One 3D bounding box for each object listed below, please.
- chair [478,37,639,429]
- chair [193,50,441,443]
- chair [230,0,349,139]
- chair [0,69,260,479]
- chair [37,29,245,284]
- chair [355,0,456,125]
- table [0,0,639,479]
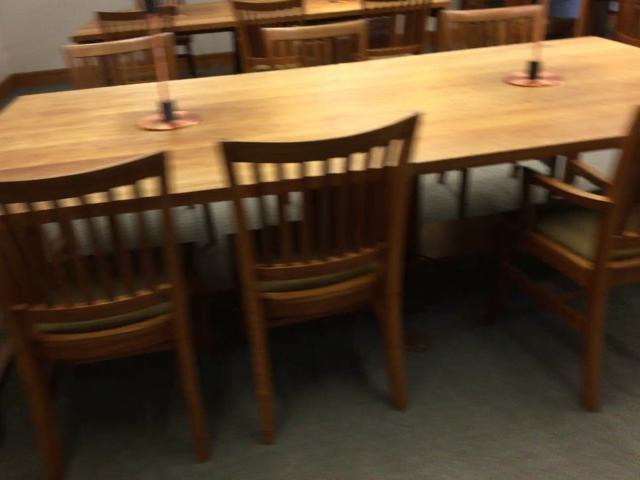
[{"bbox_3d":[0.890,-0.040,1.710,0.620,0.920,0.590,-10,32,-3],"label":"chair"},{"bbox_3d":[0.000,0.010,1.770,0.540,0.950,0.580,-12,32,-7],"label":"chair"},{"bbox_3d":[-0.220,-1.320,4.140,0.680,0.920,0.630,-10,32,-3],"label":"chair"},{"bbox_3d":[-0.600,0.130,1.650,0.670,0.970,0.630,-10,32,-3],"label":"chair"},{"bbox_3d":[-0.760,-0.400,2.720,0.620,0.940,0.610,-10,32,-4],"label":"chair"},{"bbox_3d":[0.600,-1.400,4.130,0.540,0.910,0.610,-10,32,-3],"label":"chair"},{"bbox_3d":[0.190,-0.230,2.260,2.780,0.910,1.490,-10,32,-4],"label":"table"}]
